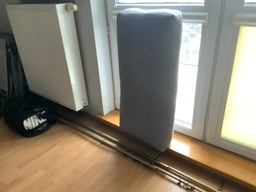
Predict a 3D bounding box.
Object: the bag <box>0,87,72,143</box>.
[{"bbox_3d":[-0.910,0.150,2.090,0.600,0.220,0.410,21,35,39],"label":"bag"}]
